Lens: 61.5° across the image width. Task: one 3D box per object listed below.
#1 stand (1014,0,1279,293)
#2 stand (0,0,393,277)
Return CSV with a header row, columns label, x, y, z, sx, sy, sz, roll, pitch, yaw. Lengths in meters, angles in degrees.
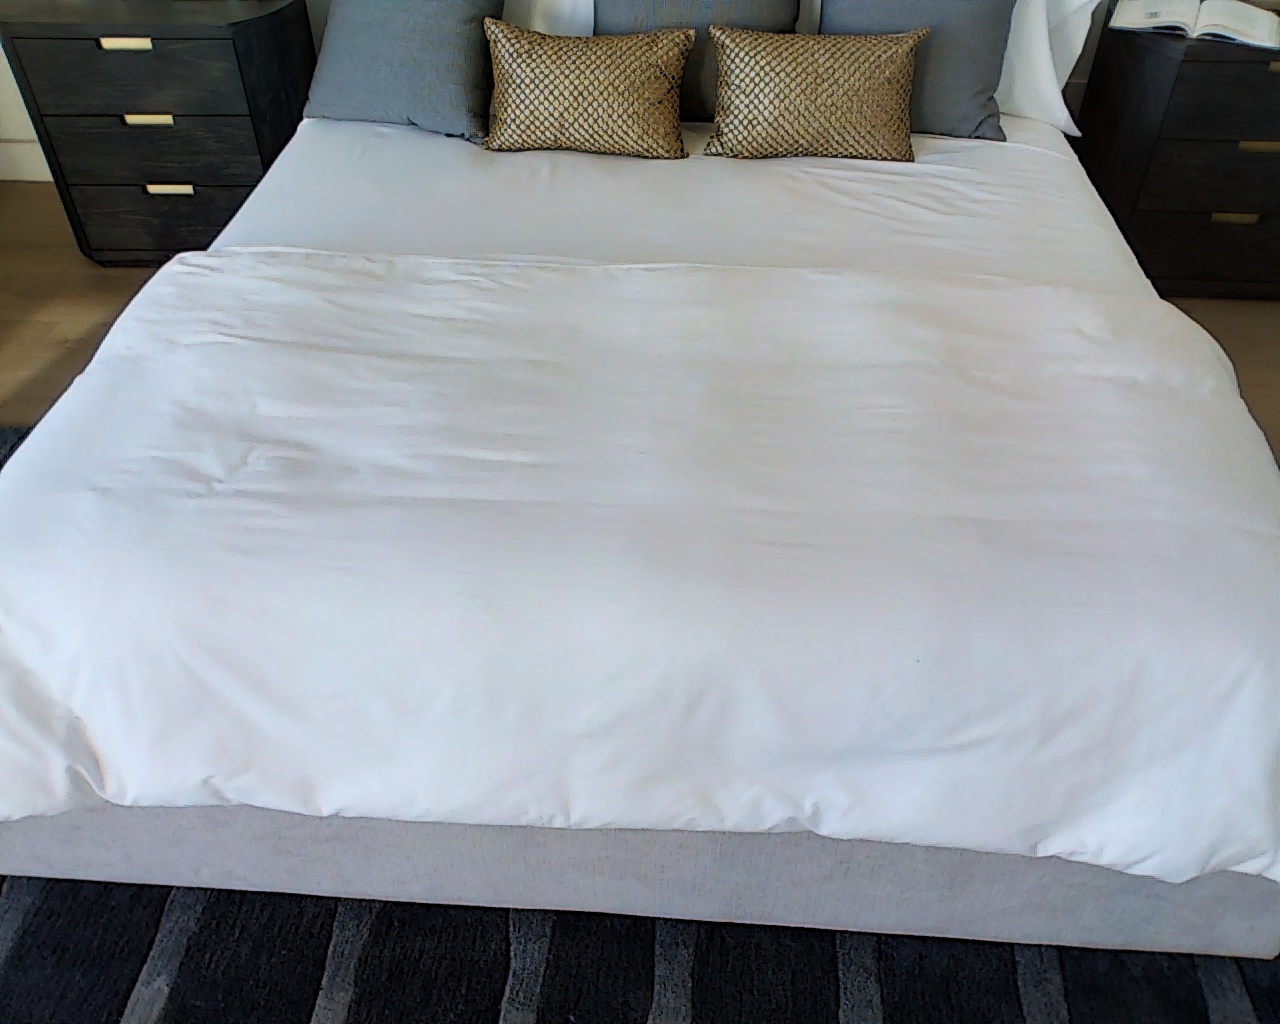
label,x,y,z,sx,sy,sz,roll,pitch,yaw
stand,1.620,-1.070,3.010,0.870,0.730,0.490,3,42,3
stand,-1.270,-1.140,3.170,0.860,0.650,0.570,3,42,3
